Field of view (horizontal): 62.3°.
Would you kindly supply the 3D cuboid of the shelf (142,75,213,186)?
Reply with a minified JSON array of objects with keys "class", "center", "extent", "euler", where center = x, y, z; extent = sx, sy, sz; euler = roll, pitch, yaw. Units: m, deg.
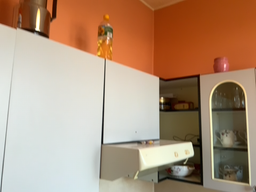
[{"class":"shelf","center":[0.350,0.230,1.530],"extent":[0.400,0.670,0.280],"euler":[-5,-10,39]}]

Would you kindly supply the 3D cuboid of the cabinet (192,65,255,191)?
[{"class":"cabinet","center":[0.730,0.190,1.200],"extent":[0.610,0.670,0.320],"euler":[-5,-10,39]}]
